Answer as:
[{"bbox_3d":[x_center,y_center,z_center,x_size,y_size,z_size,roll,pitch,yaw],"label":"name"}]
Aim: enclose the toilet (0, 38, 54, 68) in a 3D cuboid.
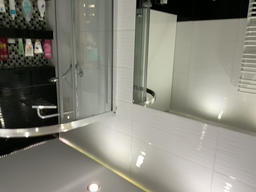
[{"bbox_3d":[-1.020,-0.390,1.900,0.100,0.250,0.730,13,-162,37],"label":"toilet"}]
